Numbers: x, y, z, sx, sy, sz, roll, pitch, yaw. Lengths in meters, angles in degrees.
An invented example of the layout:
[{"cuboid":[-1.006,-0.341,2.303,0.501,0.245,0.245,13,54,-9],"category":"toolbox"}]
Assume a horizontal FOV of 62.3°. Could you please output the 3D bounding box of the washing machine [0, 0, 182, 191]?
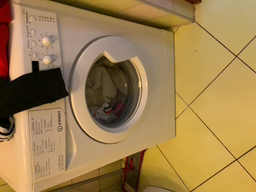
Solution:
[{"cuboid":[-0.170,-0.030,1.020,0.480,0.840,0.590,2,95,44],"category":"washing machine"}]
